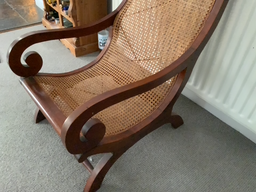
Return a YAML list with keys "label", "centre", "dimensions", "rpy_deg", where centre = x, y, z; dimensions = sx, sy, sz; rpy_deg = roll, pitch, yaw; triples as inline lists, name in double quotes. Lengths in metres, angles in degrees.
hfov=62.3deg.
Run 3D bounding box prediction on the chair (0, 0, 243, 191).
- label: "chair"
  centre: [-0.060, -0.220, 1.110]
  dimensions: [0.950, 0.930, 0.670]
  rpy_deg: [-27, 50, -31]
